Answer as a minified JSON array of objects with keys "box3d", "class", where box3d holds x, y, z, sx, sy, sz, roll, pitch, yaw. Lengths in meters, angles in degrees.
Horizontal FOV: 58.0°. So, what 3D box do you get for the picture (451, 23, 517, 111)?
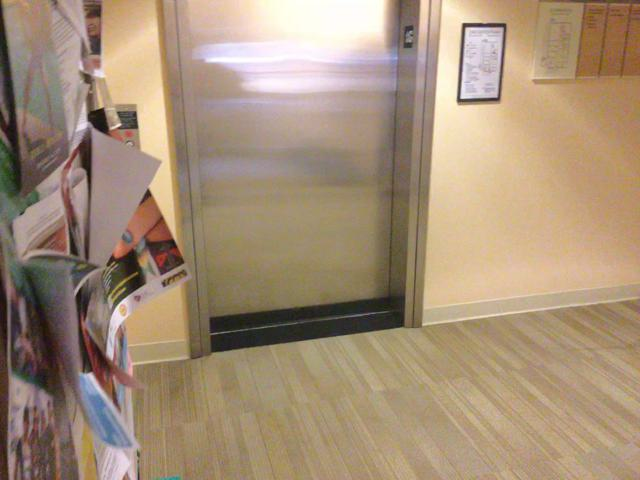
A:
[{"box3d":[0.760,-0.800,2.680,0.250,0.360,0.090,-10,8,-14],"class":"picture"}]
